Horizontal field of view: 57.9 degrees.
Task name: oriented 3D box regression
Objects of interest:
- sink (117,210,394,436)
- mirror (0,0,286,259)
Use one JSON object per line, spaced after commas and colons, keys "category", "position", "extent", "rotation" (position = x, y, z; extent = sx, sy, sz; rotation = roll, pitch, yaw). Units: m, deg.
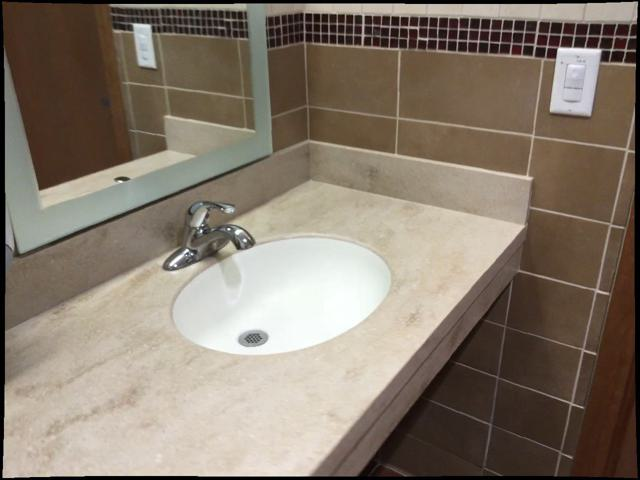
{"category": "sink", "position": [-0.100, 0.120, 1.100], "extent": [0.320, 0.160, 0.410], "rotation": [16, 31, 30]}
{"category": "mirror", "position": [-0.290, -0.320, 1.040], "extent": [0.060, 0.490, 0.650], "rotation": [16, 31, 30]}
